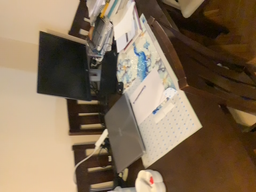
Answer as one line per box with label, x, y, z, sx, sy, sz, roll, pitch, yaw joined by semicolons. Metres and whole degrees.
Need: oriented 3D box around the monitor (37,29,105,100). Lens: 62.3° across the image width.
monitor;-0.440;-0.240;1.640;0.050;0.450;0.560;-42;54;41
